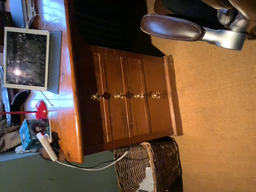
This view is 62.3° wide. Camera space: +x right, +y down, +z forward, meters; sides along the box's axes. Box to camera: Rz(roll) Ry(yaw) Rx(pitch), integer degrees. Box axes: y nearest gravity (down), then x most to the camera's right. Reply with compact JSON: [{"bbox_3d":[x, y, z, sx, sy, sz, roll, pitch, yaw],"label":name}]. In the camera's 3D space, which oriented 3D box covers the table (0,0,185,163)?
[{"bbox_3d":[-0.340,-0.470,1.580,0.930,0.840,1.640,-13,83,45],"label":"table"}]
